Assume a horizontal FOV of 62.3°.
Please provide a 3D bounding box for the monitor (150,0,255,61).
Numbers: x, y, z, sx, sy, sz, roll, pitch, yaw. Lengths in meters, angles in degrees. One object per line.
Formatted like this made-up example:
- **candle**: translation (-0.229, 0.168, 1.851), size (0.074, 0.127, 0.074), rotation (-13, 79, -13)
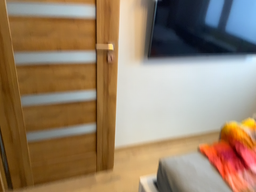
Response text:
- **monitor**: translation (0.820, -0.680, 1.860), size (1.300, 0.710, 0.050), rotation (-5, 23, -21)
